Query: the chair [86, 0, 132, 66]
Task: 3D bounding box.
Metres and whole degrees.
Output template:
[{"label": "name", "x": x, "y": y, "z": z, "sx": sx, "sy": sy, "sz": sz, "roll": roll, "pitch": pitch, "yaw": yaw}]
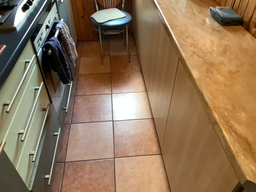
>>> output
[{"label": "chair", "x": -0.180, "y": -0.800, "z": 2.200, "sx": 0.400, "sy": 0.830, "sz": 0.470, "roll": -2, "pitch": 43, "yaw": -3}]
